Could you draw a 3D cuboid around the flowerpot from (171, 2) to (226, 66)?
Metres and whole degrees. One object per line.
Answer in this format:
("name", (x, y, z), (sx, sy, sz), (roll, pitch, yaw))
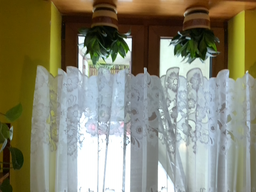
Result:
("flowerpot", (0.440, -0.380, 1.370), (0.250, 0.330, 0.240), (1, 180, -8))

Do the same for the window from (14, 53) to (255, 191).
("window", (0.180, 0.560, 1.200), (1.470, 1.490, 0.250), (1, 180, -7))

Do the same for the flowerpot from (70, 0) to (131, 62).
("flowerpot", (-0.170, -0.400, 1.320), (0.340, 0.330, 0.190), (1, 180, -8))
